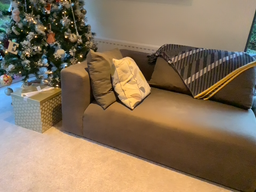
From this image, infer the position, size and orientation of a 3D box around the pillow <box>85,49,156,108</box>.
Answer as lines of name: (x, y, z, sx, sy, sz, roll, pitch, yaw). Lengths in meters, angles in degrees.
pillow: (-0.040, -0.160, 1.730, 0.150, 0.390, 0.530, 50, 32, 3)

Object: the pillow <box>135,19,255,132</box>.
pillow: (0.640, -0.210, 1.970, 1.030, 0.450, 0.300, 38, 31, 7)
